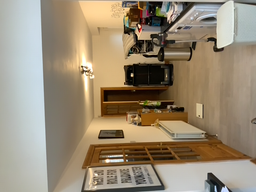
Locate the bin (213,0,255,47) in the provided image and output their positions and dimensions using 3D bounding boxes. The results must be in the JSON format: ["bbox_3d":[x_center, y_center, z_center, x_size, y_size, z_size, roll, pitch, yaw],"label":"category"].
[{"bbox_3d":[1.270,-0.750,2.170,0.340,0.650,0.430,-155,65,-84],"label":"bin"}]
